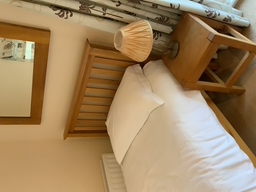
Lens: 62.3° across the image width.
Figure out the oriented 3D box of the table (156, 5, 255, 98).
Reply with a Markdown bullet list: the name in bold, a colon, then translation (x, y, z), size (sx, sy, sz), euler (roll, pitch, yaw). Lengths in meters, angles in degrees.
- **table**: translation (0.570, -0.280, 1.440), size (0.400, 0.530, 0.400), euler (-112, 34, -43)
